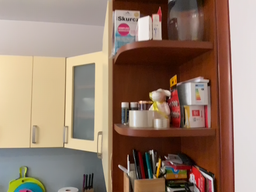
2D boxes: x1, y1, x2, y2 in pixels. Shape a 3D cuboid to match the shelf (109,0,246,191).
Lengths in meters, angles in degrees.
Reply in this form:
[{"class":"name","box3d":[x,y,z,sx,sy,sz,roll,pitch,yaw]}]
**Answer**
[{"class":"shelf","box3d":[0.120,-0.020,0.670,0.320,0.720,0.290,2,-4,-10]}]
